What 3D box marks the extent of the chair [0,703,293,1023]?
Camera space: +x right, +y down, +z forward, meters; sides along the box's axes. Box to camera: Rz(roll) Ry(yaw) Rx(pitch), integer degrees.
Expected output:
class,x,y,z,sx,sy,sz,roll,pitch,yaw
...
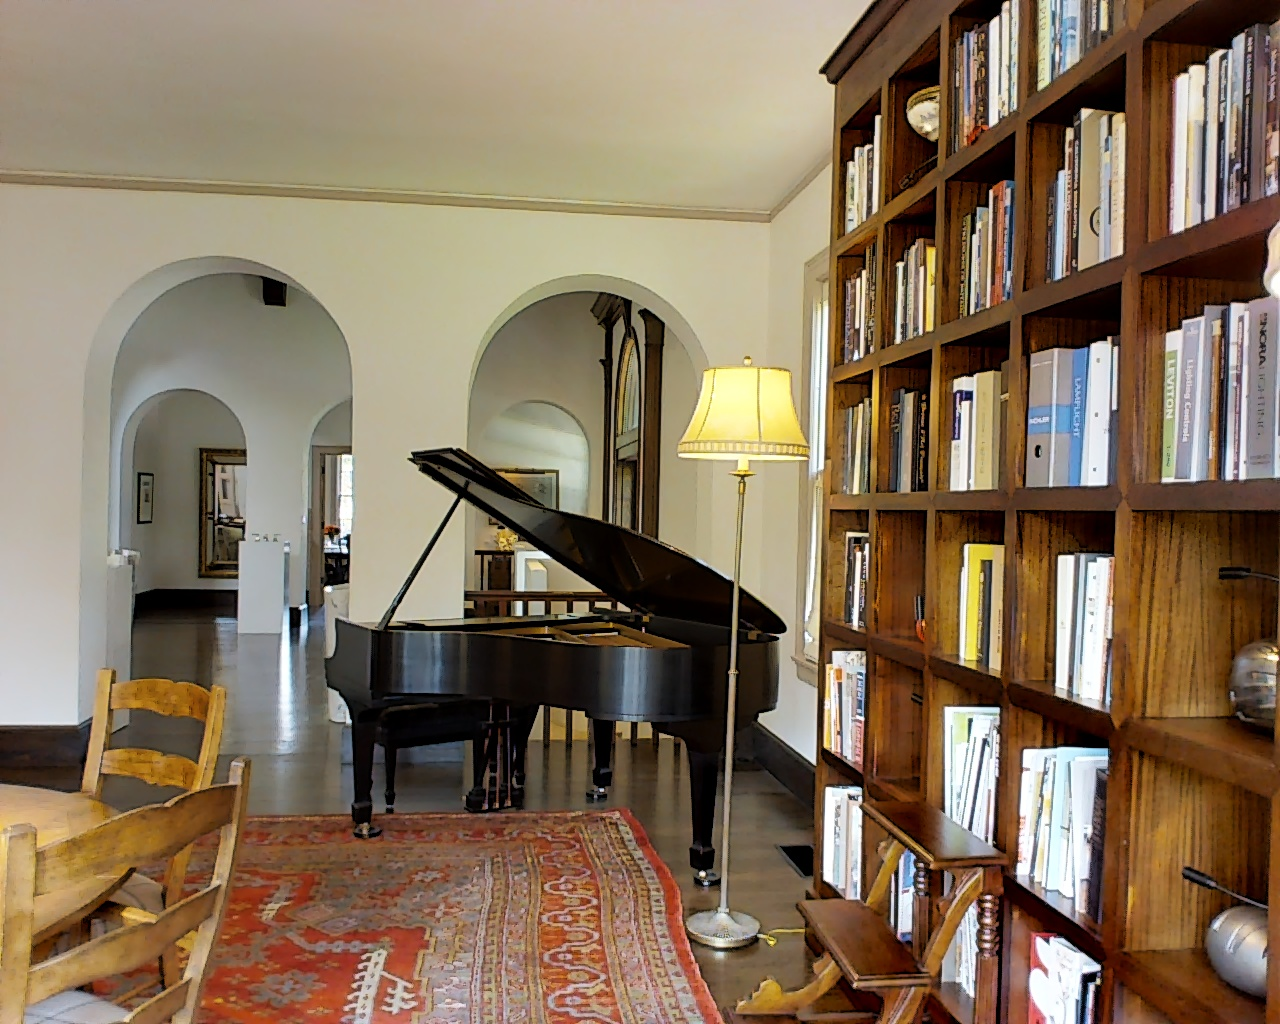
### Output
class,x,y,z,sx,sy,sz,roll,pitch,yaw
chair,-1.140,0.930,1.890,0.770,1.030,0.620,1,0,18

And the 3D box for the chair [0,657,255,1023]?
class,x,y,z,sx,sy,sz,roll,pitch,yaw
chair,-1.450,0.930,2.700,0.590,1.010,0.660,1,0,29

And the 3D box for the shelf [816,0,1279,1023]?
class,x,y,z,sx,sy,sz,roll,pitch,yaw
shelf,1.120,-0.090,2.470,0.550,3.190,2.830,1,0,-8

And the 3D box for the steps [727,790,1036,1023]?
class,x,y,z,sx,sy,sz,roll,pitch,yaw
steps,0.510,1.080,2.400,0.540,0.790,0.450,1,0,-8
